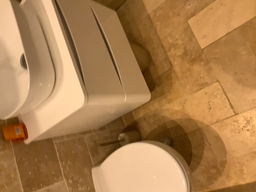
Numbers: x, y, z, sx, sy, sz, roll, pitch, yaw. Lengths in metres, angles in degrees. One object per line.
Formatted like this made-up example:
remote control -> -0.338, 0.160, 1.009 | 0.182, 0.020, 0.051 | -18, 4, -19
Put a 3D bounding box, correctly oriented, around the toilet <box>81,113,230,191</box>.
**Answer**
toilet -> 0.150, 0.390, 1.140 | 0.540, 0.470, 0.370 | -31, 74, 33
